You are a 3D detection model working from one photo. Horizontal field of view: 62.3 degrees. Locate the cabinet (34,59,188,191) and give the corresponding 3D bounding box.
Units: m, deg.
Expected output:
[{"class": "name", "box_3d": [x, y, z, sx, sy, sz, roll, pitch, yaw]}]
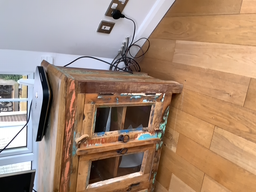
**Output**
[{"class": "cabinet", "box_3d": [-0.210, 0.720, 1.370, 0.520, 0.650, 1.790, 27, 113, 53]}]
